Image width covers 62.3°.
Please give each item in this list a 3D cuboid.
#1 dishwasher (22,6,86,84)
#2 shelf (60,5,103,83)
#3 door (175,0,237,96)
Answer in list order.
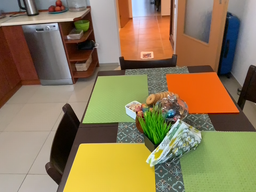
[{"bbox_3d":[-0.920,-0.680,2.840,0.450,0.860,0.590,-1,32,6],"label":"dishwasher"},{"bbox_3d":[-0.570,-0.690,2.810,0.260,0.860,0.590,-1,32,5],"label":"shelf"},{"bbox_3d":[0.820,-1.120,2.290,0.110,2.100,0.880,-12,33,-12],"label":"door"}]
